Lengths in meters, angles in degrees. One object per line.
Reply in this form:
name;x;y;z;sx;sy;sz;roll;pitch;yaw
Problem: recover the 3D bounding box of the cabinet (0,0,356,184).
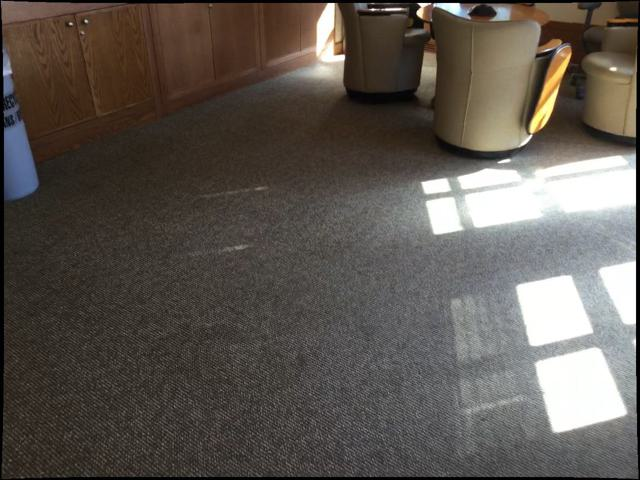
cabinet;-0.908;-1.794;4.080;0.579;1.573;3.208;25;42;31
